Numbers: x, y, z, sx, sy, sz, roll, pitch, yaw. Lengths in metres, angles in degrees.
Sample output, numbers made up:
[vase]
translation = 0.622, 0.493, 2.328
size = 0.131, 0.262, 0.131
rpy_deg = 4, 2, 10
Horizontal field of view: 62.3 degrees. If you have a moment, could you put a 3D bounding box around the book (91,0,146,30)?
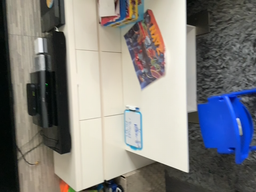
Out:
[book]
translation = -0.070, -0.620, 1.320
size = 0.260, 0.220, 0.320
rpy_deg = -1, 93, 51

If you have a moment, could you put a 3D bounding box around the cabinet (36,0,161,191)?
[cabinet]
translation = -0.210, -0.100, 1.710
size = 0.500, 0.780, 1.400
rpy_deg = 0, 94, 49
